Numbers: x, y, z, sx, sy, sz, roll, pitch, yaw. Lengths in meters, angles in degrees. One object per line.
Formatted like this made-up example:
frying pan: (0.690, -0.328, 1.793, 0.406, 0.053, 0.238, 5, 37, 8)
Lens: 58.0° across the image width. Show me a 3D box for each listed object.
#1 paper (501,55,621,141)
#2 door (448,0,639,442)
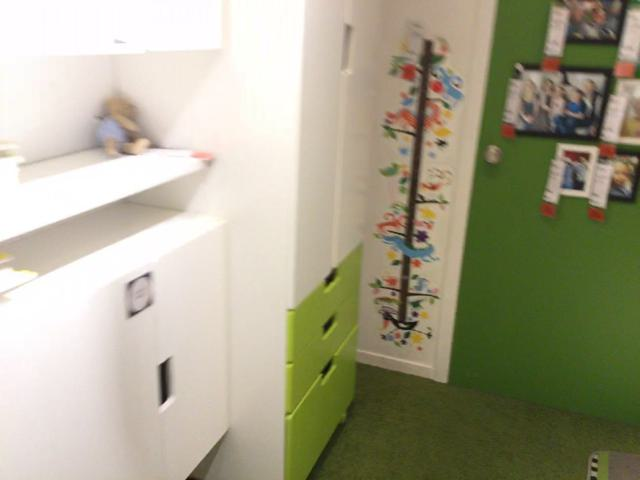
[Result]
paper: (0.800, -0.480, 1.940, 0.330, 0.250, 0.040, 11, 20, 22)
door: (0.920, -0.120, 1.990, 0.740, 1.670, 0.060, 11, 20, 22)
